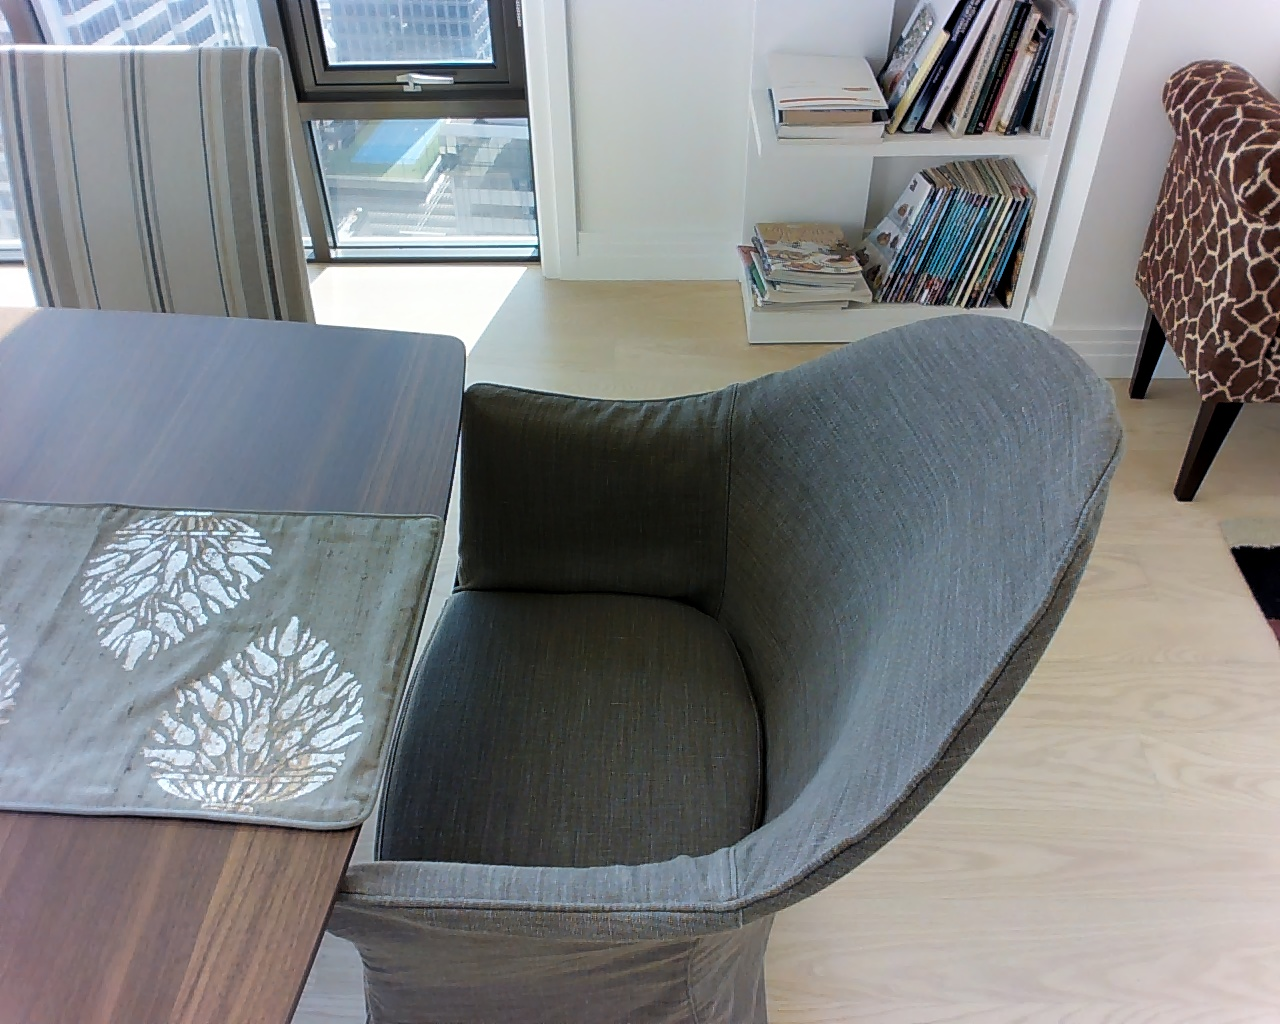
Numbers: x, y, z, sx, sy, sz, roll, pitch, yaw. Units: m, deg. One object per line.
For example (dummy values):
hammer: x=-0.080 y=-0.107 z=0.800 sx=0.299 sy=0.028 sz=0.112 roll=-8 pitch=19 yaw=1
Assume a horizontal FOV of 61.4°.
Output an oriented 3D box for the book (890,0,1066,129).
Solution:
book: x=0.690 y=-0.990 z=2.250 sx=0.250 sy=0.260 sz=0.310 roll=0 pitch=42 yaw=1

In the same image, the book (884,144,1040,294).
book: x=0.730 y=-0.680 z=2.490 sx=0.260 sy=0.220 sz=0.300 roll=1 pitch=42 yaw=2
